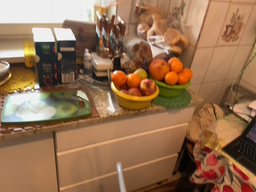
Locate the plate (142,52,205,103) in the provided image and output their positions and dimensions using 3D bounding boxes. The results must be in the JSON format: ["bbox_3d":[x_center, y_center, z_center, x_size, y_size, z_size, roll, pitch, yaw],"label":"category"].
[{"bbox_3d":[0.240,-0.110,1.170,0.240,0.200,0.190,-7,36,-24],"label":"plate"}]

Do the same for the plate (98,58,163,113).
[{"bbox_3d":[0.000,-0.060,1.070,0.260,0.200,0.170,-6,35,-22],"label":"plate"}]
